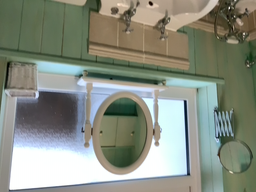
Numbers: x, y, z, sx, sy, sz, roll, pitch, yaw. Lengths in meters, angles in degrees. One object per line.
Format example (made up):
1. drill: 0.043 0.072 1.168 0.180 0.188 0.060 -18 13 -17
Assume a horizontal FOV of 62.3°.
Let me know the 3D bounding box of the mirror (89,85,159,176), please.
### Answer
1. mirror: -0.020 0.190 1.210 0.360 0.460 0.140 4 170 -23
